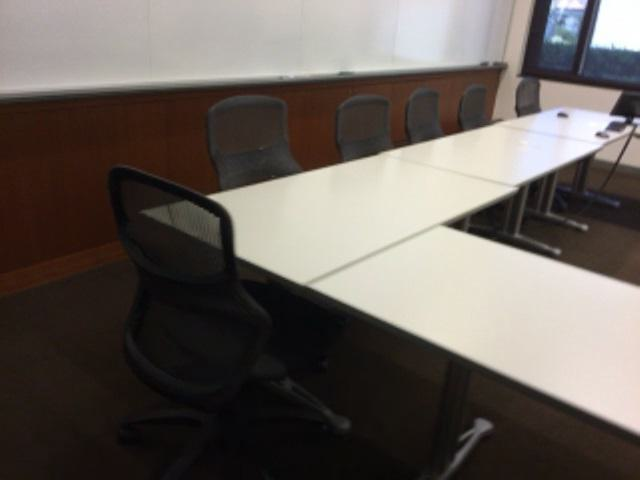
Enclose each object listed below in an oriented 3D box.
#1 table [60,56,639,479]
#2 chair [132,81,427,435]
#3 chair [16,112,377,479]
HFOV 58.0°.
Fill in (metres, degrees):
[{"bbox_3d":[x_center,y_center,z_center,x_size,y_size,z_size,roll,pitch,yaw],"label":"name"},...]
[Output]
[{"bbox_3d":[2.520,0.220,2.070,4.920,0.950,4.620,19,32,40],"label":"table"},{"bbox_3d":[-0.130,-0.010,2.330,0.830,1.080,0.690,17,31,38],"label":"chair"},{"bbox_3d":[-0.300,0.230,1.730,0.660,1.030,0.680,19,32,40],"label":"chair"}]
